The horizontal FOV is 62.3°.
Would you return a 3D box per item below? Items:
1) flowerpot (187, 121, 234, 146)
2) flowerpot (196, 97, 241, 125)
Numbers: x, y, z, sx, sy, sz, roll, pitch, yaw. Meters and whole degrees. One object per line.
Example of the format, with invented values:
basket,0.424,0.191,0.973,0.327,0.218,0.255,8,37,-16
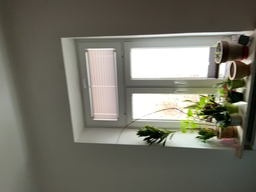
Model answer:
flowerpot,0.930,0.430,2.440,0.210,0.450,0.180,-71,-19,-69
flowerpot,0.990,0.160,2.360,0.190,0.400,0.250,-71,-19,-69
